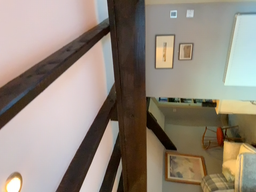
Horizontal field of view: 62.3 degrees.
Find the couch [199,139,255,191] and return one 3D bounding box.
[{"bbox_3d":[1.720,1.260,3.470,0.780,0.910,0.850,-17,-71,-80],"label":"couch"}]
